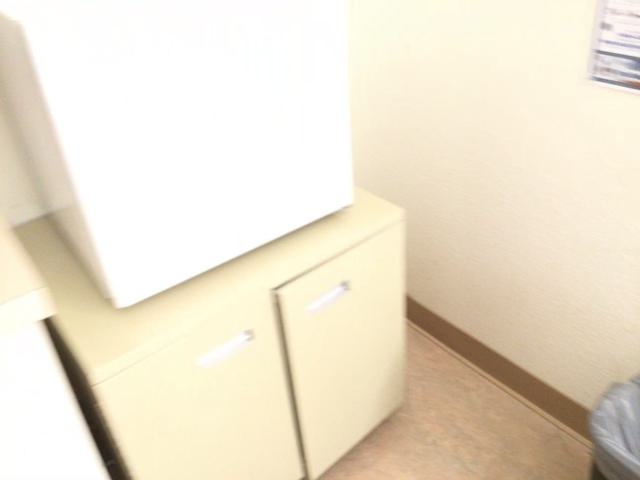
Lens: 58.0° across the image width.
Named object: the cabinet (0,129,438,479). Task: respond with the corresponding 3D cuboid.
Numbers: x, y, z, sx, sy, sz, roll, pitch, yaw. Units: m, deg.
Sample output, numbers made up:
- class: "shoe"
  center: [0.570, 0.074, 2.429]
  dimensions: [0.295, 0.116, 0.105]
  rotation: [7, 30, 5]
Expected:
- class: "cabinet"
  center: [-0.200, 0.210, 1.350]
  dimensions: [0.710, 0.660, 0.560]
  rotation: [-23, 36, -30]
